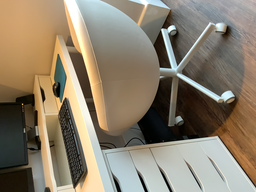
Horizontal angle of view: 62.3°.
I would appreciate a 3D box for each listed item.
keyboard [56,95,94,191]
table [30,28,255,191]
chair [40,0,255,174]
[{"bbox_3d":[-0.270,0.200,1.020,0.460,0.060,0.130,62,139,38],"label":"keyboard"},{"bbox_3d":[-0.070,0.240,1.300,1.230,0.820,0.610,62,139,37],"label":"table"},{"bbox_3d":[0.030,-0.150,1.140,0.680,0.810,0.710,-63,39,37],"label":"chair"}]
